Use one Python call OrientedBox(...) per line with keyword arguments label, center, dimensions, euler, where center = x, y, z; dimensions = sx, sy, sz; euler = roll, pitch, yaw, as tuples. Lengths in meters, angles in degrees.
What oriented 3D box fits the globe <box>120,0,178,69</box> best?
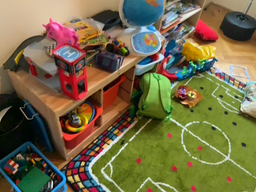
OrientedBox(label="globe", center=(0.120, -0.440, 1.330), dimensions=(0.200, 0.450, 0.240), euler=(37, 54, 23))
